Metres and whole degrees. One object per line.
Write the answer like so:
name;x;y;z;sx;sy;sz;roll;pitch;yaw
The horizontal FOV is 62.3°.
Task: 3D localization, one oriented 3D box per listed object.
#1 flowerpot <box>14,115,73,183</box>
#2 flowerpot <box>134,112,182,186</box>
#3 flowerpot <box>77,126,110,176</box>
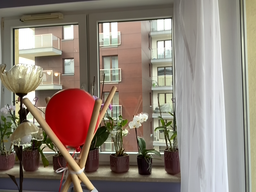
flowerpot;-0.750;0.450;1.910;0.420;0.540;0.250;-1;-1;9
flowerpot;0.230;0.410;1.720;0.350;0.540;0.230;-1;-1;-1
flowerpot;-0.290;0.460;1.810;0.240;0.380;0.150;-1;-1;9
